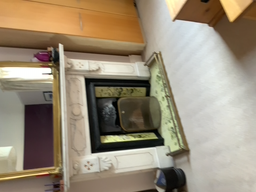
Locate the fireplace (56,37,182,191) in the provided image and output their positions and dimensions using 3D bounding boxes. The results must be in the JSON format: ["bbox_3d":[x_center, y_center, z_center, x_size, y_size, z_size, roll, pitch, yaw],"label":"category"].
[{"bbox_3d":[-0.210,0.160,2.650,0.480,1.250,1.730,126,139,-56],"label":"fireplace"}]
